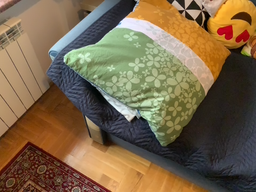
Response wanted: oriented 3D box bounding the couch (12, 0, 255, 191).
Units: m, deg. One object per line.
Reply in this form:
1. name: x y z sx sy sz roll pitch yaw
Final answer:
1. couch: 0.740 0.110 1.120 2.110 0.870 1.030 23 56 15

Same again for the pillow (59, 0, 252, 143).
1. pillow: 0.140 -0.190 0.990 0.610 0.290 0.640 6 48 43

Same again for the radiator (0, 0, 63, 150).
1. radiator: -0.780 -0.090 1.260 0.190 0.760 0.700 27 57 17
